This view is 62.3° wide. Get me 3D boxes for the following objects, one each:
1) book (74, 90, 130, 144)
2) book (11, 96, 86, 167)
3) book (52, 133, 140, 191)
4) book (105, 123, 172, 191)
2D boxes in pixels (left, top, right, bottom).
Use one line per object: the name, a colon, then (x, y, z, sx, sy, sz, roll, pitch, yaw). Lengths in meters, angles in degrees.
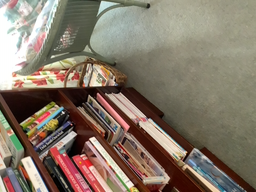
book: (-0.140, 0.100, 1.110, 0.210, 0.150, 0.170, 40, 120, 31)
book: (-0.330, 0.130, 0.870, 0.240, 0.180, 0.130, 40, 120, 31)
book: (-0.120, 0.280, 0.740, 0.240, 0.160, 0.150, 41, 121, 30)
book: (0.040, 0.270, 0.960, 0.220, 0.140, 0.170, 41, 121, 31)
